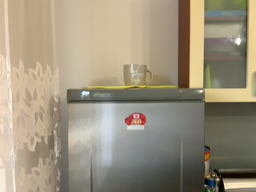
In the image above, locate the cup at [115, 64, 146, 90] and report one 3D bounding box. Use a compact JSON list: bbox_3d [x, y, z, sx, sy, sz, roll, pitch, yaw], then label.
[{"bbox_3d":[0.020,-0.110,1.270,0.170,0.140,0.210,0,3,3],"label":"cup"}]
